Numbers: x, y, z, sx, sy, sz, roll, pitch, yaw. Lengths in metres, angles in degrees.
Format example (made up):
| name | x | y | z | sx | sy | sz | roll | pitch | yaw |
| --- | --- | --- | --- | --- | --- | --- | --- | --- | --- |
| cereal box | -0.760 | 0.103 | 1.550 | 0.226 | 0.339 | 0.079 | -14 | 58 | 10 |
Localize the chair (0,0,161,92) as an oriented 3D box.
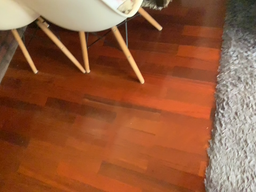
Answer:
| name | x | y | z | sx | sy | sz | roll | pitch | yaw |
| --- | --- | --- | --- | --- | --- | --- | --- | --- | --- |
| chair | -0.140 | -0.420 | 1.000 | 0.420 | 0.770 | 0.500 | 11 | 74 | 18 |
